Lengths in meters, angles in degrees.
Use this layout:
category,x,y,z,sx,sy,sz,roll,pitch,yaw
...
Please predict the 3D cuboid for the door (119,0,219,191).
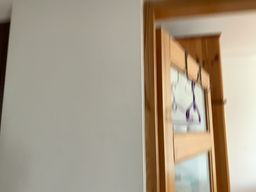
category,x,y,z,sx,sy,sz,roll,pitch,yaw
door,0.270,0.730,0.900,0.140,2.210,0.920,-6,-11,29
